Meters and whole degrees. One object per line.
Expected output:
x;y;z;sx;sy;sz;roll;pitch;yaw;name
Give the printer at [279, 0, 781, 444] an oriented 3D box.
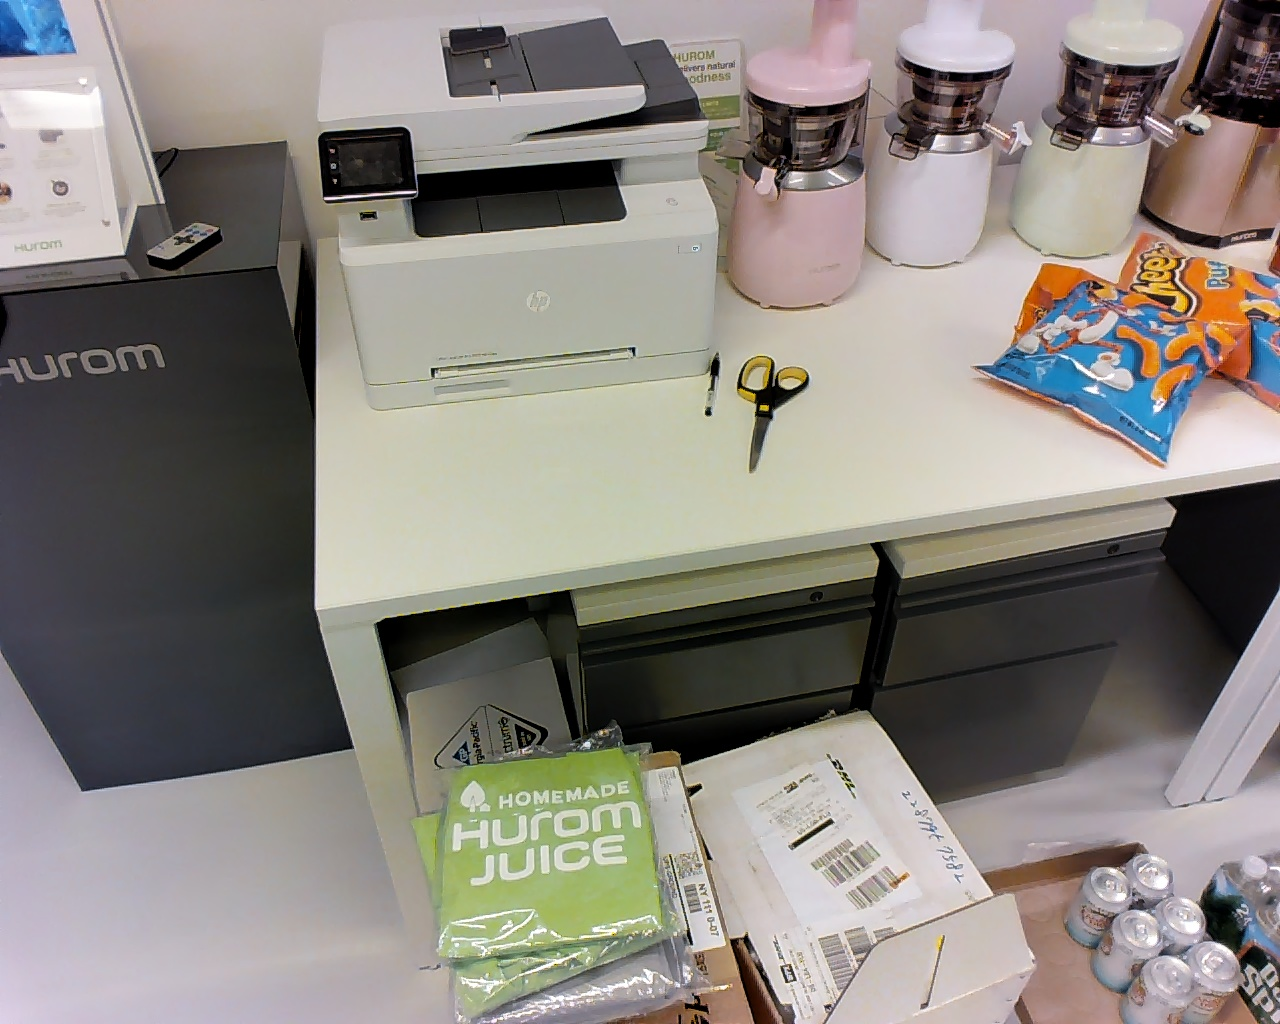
-0.150;-0.400;1.330;0.490;0.340;0.490;-9;42;-9;printer
